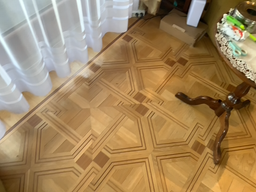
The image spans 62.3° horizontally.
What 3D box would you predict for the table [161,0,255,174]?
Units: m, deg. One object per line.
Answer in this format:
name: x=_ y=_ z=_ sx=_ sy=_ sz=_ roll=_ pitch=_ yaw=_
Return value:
table: x=0.620 y=-0.040 z=1.160 sx=0.530 sy=0.670 sz=0.550 roll=-28 pitch=64 yaw=-20
